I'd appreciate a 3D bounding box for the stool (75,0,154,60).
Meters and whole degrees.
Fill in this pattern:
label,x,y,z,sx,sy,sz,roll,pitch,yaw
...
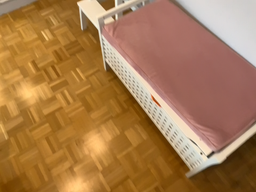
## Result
label,x,y,z,sx,sy,sz,roll,pitch,yaw
stool,-0.110,-0.650,1.530,0.390,0.520,0.420,-31,66,-17

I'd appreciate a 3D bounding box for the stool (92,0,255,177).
label,x,y,z,sx,sy,sz,roll,pitch,yaw
stool,0.270,-0.110,1.290,0.500,0.520,0.950,-31,66,-17
